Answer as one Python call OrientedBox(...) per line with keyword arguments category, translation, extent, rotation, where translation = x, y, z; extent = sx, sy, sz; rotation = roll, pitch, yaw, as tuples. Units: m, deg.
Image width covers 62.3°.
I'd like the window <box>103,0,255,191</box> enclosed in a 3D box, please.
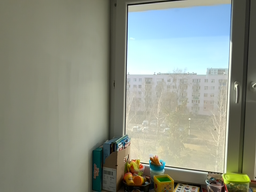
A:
OrientedBox(category="window", translation=(0.520, -0.050, 1.550), extent=(1.430, 1.540, 0.140), rotation=(2, 3, 16))
